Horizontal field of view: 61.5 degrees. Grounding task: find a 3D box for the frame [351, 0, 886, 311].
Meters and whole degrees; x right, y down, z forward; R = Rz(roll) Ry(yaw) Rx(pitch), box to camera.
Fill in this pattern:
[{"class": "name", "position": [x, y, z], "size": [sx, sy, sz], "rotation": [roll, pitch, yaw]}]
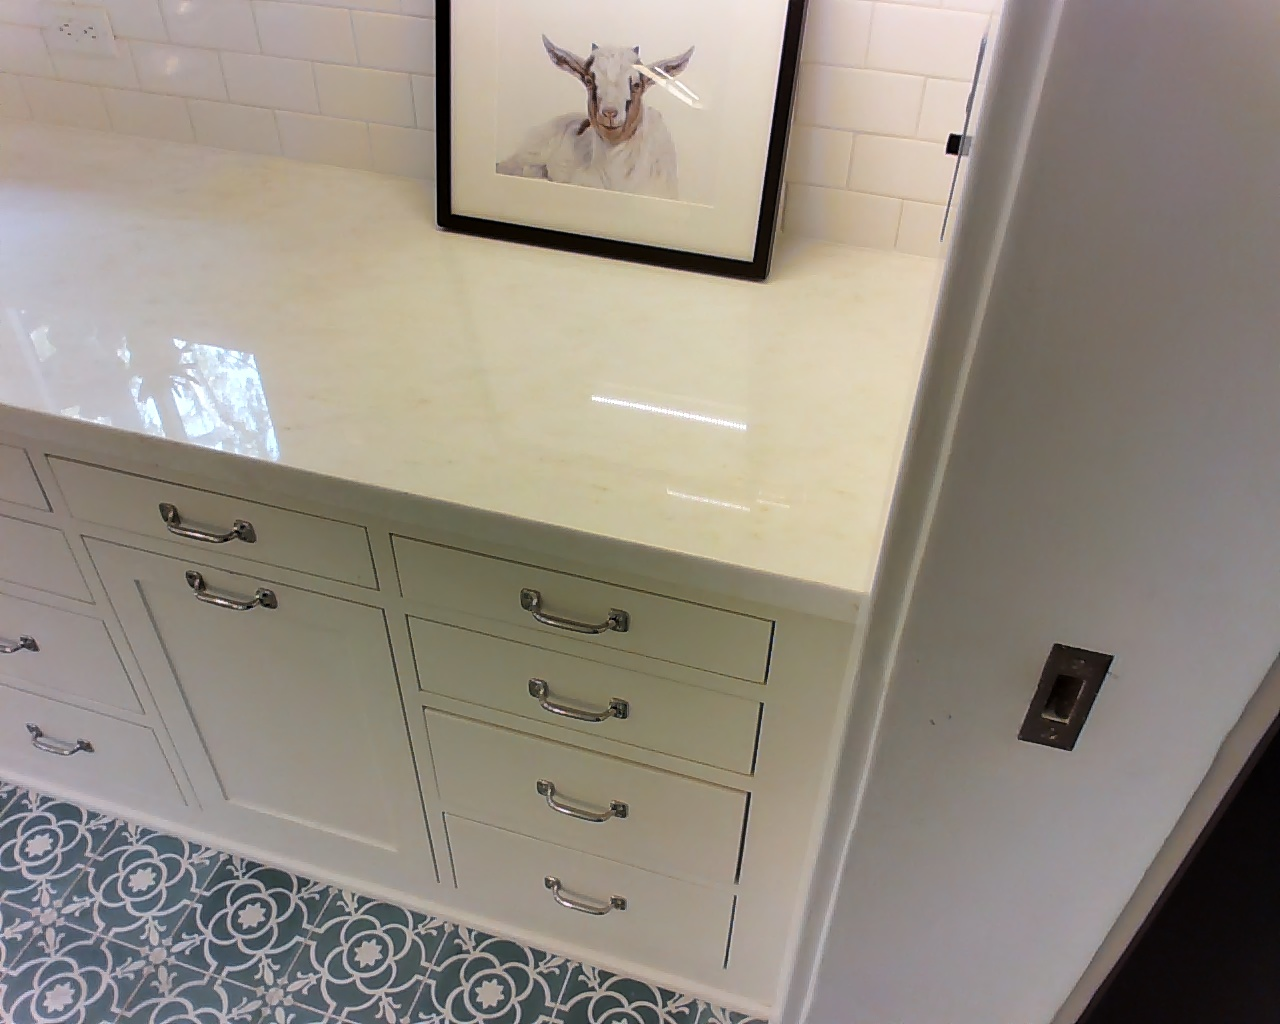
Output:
[{"class": "frame", "position": [-0.040, -0.540, 1.270], "size": [0.590, 0.470, 0.110], "rotation": [16, 44, 4]}]
